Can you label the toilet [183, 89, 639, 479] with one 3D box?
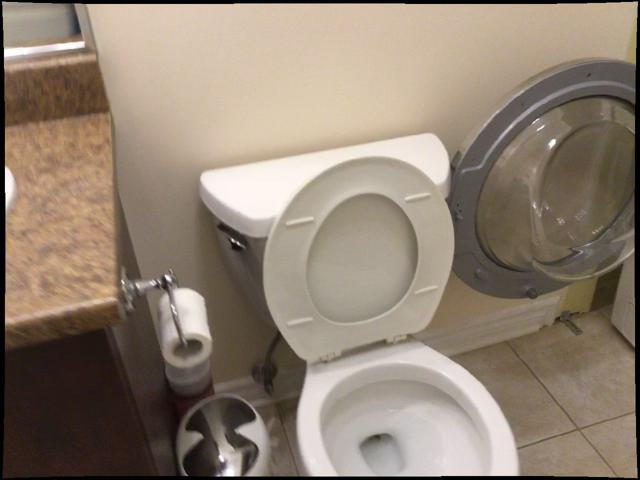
[{"bbox_3d":[0.110,0.240,1.090,0.520,0.771,0.690,-12,36,-13],"label":"toilet"}]
